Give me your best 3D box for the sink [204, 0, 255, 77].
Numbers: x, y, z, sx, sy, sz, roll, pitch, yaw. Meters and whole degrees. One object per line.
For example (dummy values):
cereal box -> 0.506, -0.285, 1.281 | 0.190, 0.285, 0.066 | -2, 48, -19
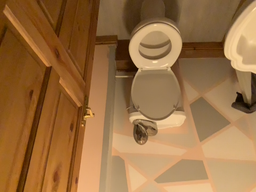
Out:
sink -> 0.650, -0.330, 0.880 | 0.470, 0.210, 0.590 | 0, 152, 2
